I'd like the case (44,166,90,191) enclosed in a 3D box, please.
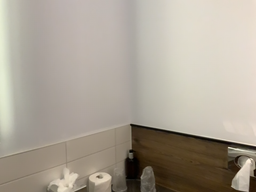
[{"bbox_3d":[-0.250,0.420,0.890,0.100,0.180,0.150,4,7,40],"label":"case"}]
